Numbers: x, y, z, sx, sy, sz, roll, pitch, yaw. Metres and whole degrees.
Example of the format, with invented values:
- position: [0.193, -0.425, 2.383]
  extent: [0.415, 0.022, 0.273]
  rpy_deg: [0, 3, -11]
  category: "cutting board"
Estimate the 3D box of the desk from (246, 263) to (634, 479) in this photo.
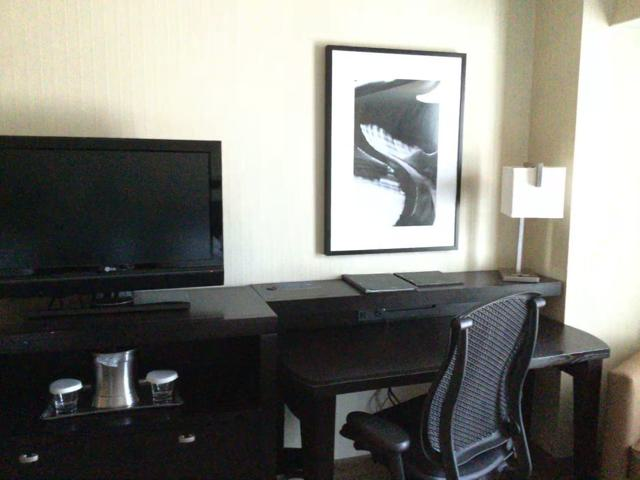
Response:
- position: [0.430, 0.640, 2.380]
  extent: [1.350, 0.940, 0.720]
  rpy_deg: [-1, 7, -17]
  category: "desk"

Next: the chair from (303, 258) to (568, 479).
- position: [0.400, 0.680, 2.110]
  extent: [0.670, 1.100, 0.630]
  rpy_deg: [-5, 9, -40]
  category: "chair"

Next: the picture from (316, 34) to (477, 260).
- position: [0.340, -0.390, 2.550]
  extent: [0.710, 0.930, 0.080]
  rpy_deg: [-1, 7, -17]
  category: "picture"
